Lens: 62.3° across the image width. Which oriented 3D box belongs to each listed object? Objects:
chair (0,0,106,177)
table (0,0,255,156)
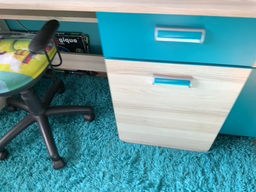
[{"bbox_3d":[-0.470,-0.160,0.870,0.530,0.920,0.590,6,52,8],"label":"chair"},{"bbox_3d":[-0.180,-0.210,1.000,1.200,0.780,0.540,5,52,7],"label":"table"}]
